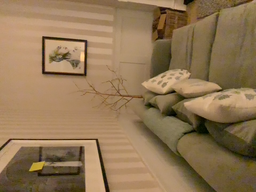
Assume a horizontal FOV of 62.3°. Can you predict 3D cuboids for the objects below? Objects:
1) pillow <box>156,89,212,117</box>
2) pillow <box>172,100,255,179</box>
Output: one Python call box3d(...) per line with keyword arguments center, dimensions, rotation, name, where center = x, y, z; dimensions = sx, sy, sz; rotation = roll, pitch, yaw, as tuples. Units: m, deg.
box3d(center=(0.430, 0.040, 1.700), dimensions=(0.390, 0.270, 0.130), rotation=(-160, 59, -75), name="pillow")
box3d(center=(0.520, 0.200, 1.180), dimensions=(0.440, 0.360, 0.210), rotation=(-150, 49, -73), name="pillow")
